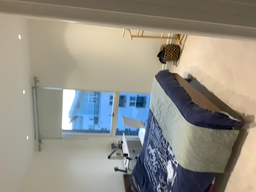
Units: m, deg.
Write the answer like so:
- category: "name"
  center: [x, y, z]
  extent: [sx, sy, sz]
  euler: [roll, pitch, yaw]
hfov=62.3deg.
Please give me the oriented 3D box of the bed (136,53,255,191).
- category: "bed"
  center: [0.650, 0.650, 2.920]
  extent: [1.510, 0.550, 2.050]
  euler: [-105, 20, -60]
